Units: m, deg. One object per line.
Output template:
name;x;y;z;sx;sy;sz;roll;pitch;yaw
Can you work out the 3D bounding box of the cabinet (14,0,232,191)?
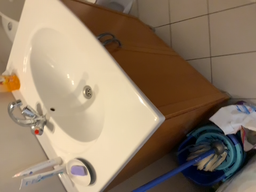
cabinet;0.000;-0.080;1.170;0.750;0.810;0.500;49;122;23
